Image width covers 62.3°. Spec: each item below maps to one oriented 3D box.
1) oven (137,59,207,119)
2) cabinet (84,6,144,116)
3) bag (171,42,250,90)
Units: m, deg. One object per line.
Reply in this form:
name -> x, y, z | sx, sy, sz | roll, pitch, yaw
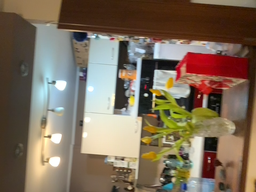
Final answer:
oven -> 0.480, -0.080, 2.570 | 0.590, 0.680, 0.600 | -60, -26, -89
cabinet -> -0.170, -0.410, 2.680 | 0.370, 0.610, 1.250 | -60, -26, -89
bag -> 0.460, -0.160, 1.260 | 0.350, 0.320, 0.210 | 8, -94, -89
